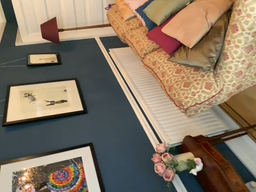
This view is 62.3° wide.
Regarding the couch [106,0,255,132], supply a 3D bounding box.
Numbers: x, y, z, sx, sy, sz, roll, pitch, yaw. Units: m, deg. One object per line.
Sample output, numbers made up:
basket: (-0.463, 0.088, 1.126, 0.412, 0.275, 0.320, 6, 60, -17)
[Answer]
couch: (0.470, -0.810, 1.940, 1.930, 0.880, 1.040, -119, 26, -48)
